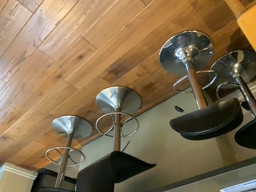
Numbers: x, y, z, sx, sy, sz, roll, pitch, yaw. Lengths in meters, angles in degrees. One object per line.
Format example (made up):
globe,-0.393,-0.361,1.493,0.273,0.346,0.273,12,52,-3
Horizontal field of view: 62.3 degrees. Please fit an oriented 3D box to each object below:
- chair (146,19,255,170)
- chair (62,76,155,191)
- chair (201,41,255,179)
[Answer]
chair,0.400,-0.030,1.280,0.390,0.750,0.370,-30,129,29
chair,-0.120,0.410,1.550,0.410,1.010,0.430,-30,129,29
chair,0.820,0.070,1.390,0.370,0.750,0.370,-27,130,26
